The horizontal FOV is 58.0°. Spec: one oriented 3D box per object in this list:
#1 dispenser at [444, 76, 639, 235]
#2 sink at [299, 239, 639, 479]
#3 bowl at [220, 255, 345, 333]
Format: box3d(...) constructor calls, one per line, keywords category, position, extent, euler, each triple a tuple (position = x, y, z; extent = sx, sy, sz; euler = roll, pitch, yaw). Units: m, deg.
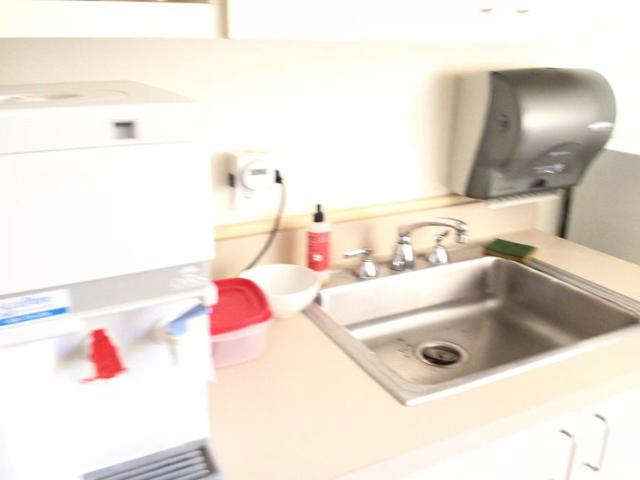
box3d(category="dispenser", position=(0.530, -0.220, 1.410), extent=(0.340, 0.330, 0.240), euler=(-7, 20, -27))
box3d(category="sink", position=(0.300, 0.190, 1.190), extent=(0.520, 0.200, 0.490), euler=(-7, 20, -27))
box3d(category="bowl", position=(-0.080, 0.100, 1.150), extent=(0.180, 0.060, 0.200), euler=(-7, 20, -27))
